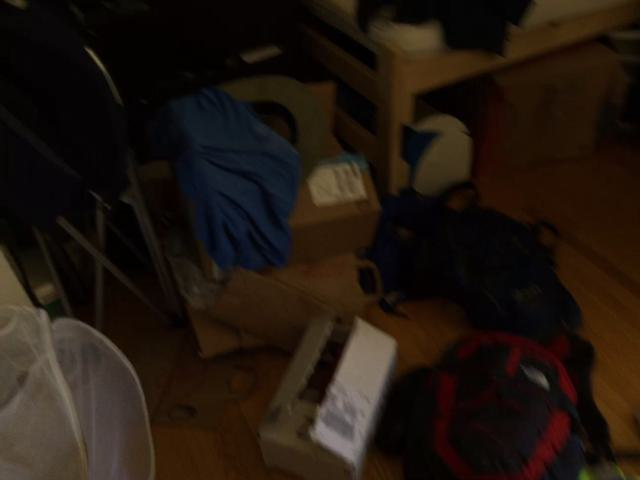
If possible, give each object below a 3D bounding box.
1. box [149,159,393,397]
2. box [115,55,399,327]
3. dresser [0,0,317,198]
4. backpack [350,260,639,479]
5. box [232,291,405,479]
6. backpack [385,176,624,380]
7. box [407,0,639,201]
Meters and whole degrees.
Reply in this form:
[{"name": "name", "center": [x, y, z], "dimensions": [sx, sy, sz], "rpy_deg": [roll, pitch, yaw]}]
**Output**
[{"name": "box", "center": [-0.130, 0.090, 1.660], "dimensions": [0.550, 0.340, 0.390], "rpy_deg": [-21, 44, -16]}, {"name": "box", "center": [-0.170, -0.170, 1.670], "dimensions": [0.620, 0.410, 0.500], "rpy_deg": [-21, 44, -16]}, {"name": "dresser", "center": [-0.560, -0.680, 1.970], "dimensions": [0.900, 0.620, 0.540], "rpy_deg": [-21, 44, -16]}, {"name": "backpack", "center": [0.480, 0.380, 1.390], "dimensions": [0.650, 0.190, 0.490], "rpy_deg": [-21, 44, -15]}, {"name": "box", "center": [0.020, 0.370, 1.450], "dimensions": [0.290, 0.190, 0.420], "rpy_deg": [10, 45, 18]}, {"name": "backpack", "center": [0.510, 0.080, 1.720], "dimensions": [0.400, 0.160, 0.560], "rpy_deg": [-21, 44, -16]}, {"name": "box", "center": [0.750, -0.580, 2.200], "dimensions": [0.580, 0.430, 0.630], "rpy_deg": [-21, 44, -16]}]
